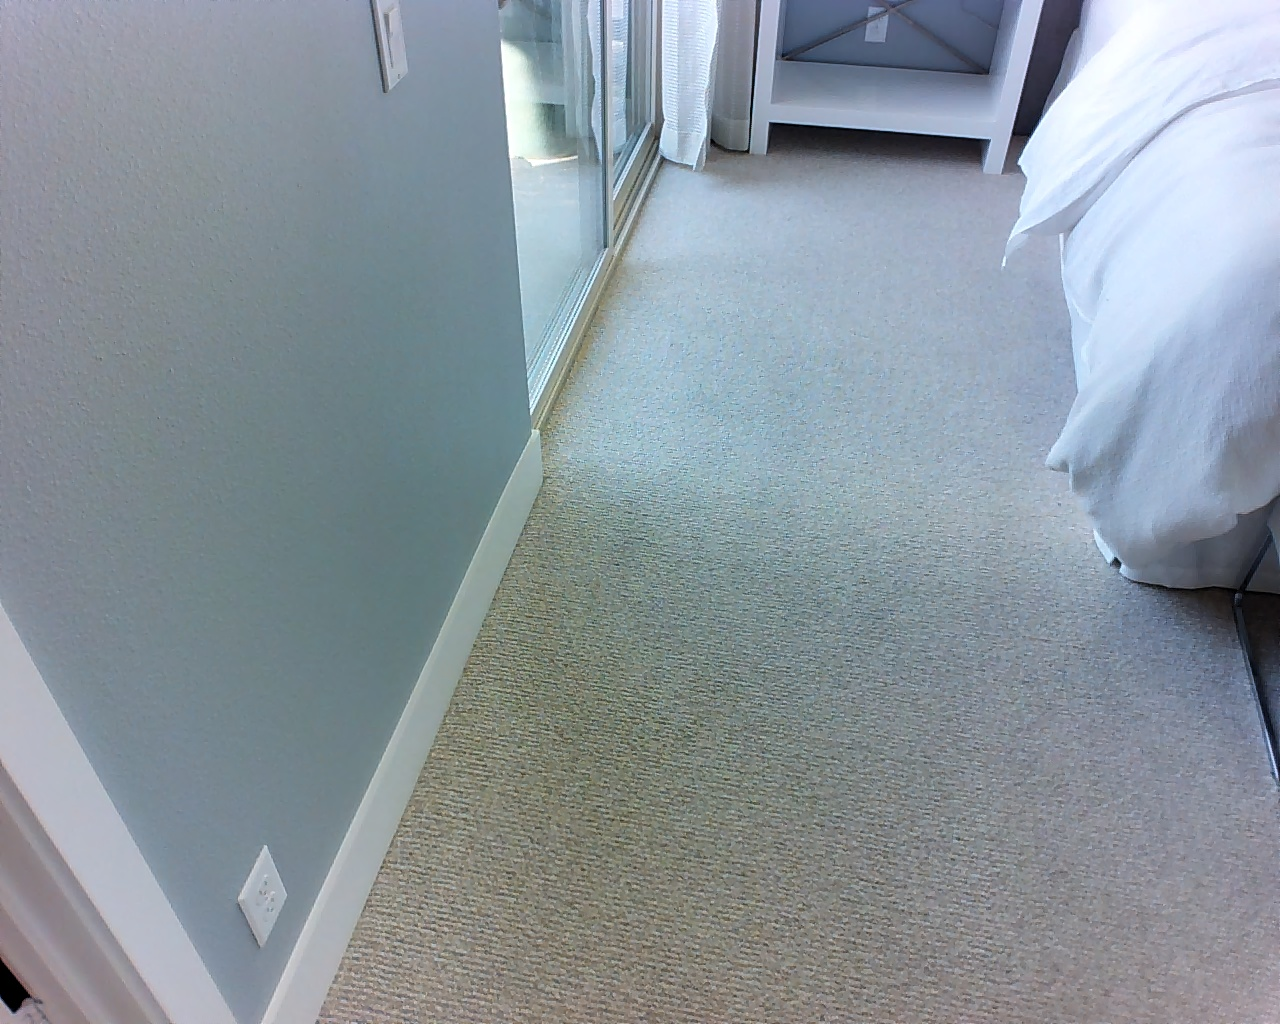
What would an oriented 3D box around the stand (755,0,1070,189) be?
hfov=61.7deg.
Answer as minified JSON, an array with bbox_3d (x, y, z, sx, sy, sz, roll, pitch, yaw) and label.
[{"bbox_3d":[0.850,-1.510,3.430,0.870,0.740,0.430,7,41,9],"label":"stand"}]
